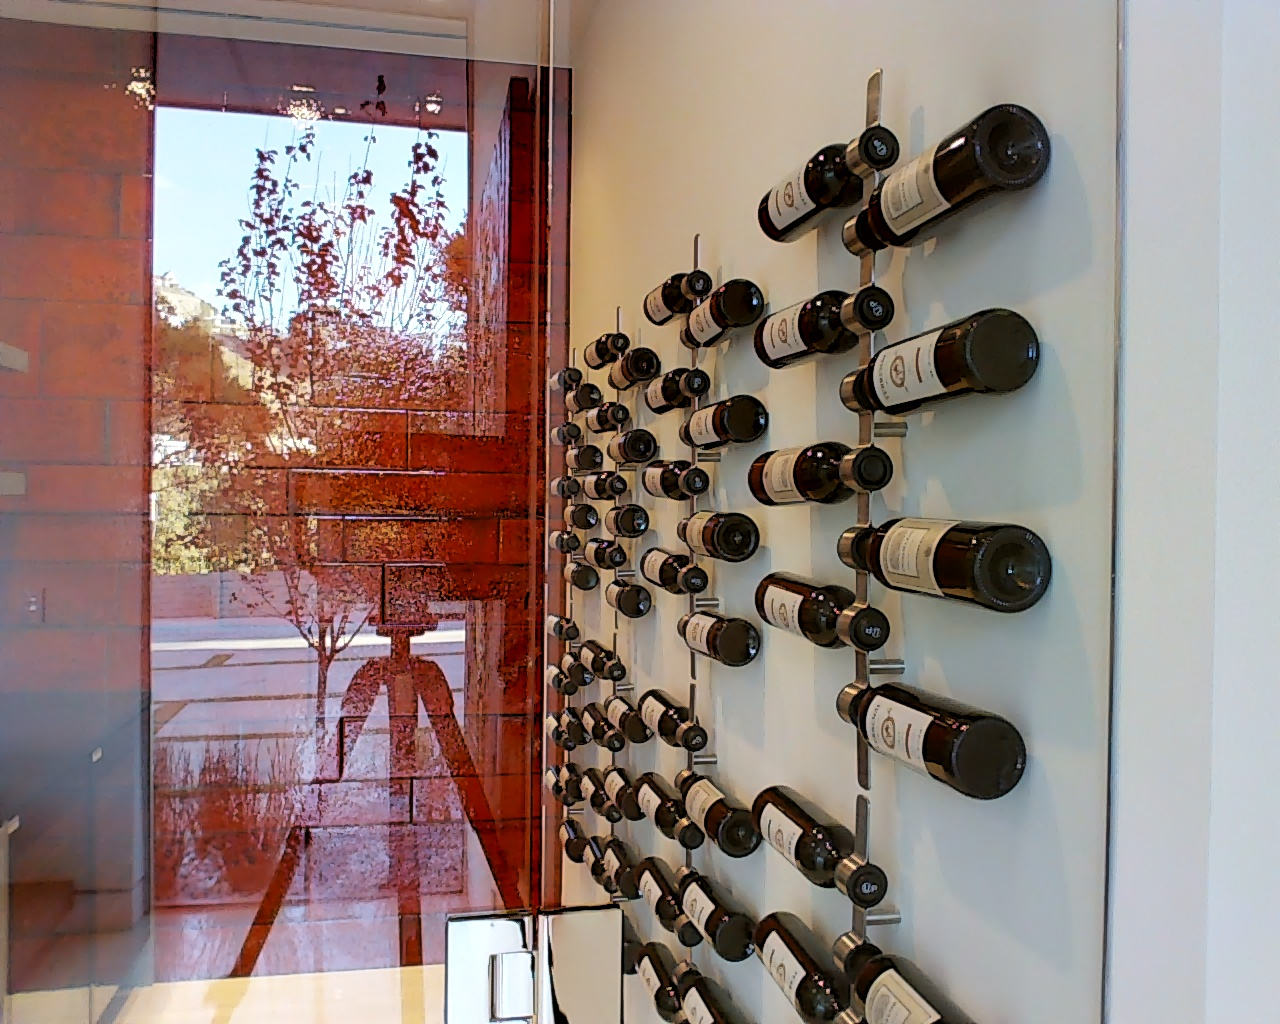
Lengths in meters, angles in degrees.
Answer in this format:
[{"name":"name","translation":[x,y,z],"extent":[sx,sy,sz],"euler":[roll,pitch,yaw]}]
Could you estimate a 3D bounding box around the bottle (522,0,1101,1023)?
[{"name":"bottle","translation":[0.000,0.260,2.180],"extent":[0.210,1.420,2.660],"euler":[1,1,-12]}]
